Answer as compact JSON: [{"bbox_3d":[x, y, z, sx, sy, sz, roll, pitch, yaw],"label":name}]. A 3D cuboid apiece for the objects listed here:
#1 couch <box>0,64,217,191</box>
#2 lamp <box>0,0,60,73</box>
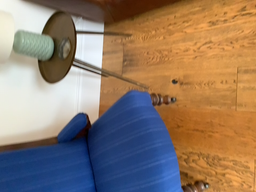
[{"bbox_3d":[-0.200,0.370,1.110,0.840,0.850,0.580,-32,66,36],"label":"couch"},{"bbox_3d":[-0.600,-0.280,1.060,0.280,0.390,0.260,0,86,42],"label":"lamp"}]
